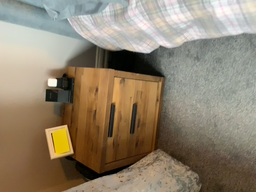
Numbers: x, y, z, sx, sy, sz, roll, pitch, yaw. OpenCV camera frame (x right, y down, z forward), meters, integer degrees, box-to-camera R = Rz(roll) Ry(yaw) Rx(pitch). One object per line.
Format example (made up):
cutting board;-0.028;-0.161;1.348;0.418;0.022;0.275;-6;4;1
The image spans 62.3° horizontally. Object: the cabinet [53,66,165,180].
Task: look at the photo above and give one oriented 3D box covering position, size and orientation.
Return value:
cabinet;-0.120;0.110;1.310;0.470;0.460;0.530;9;96;43
